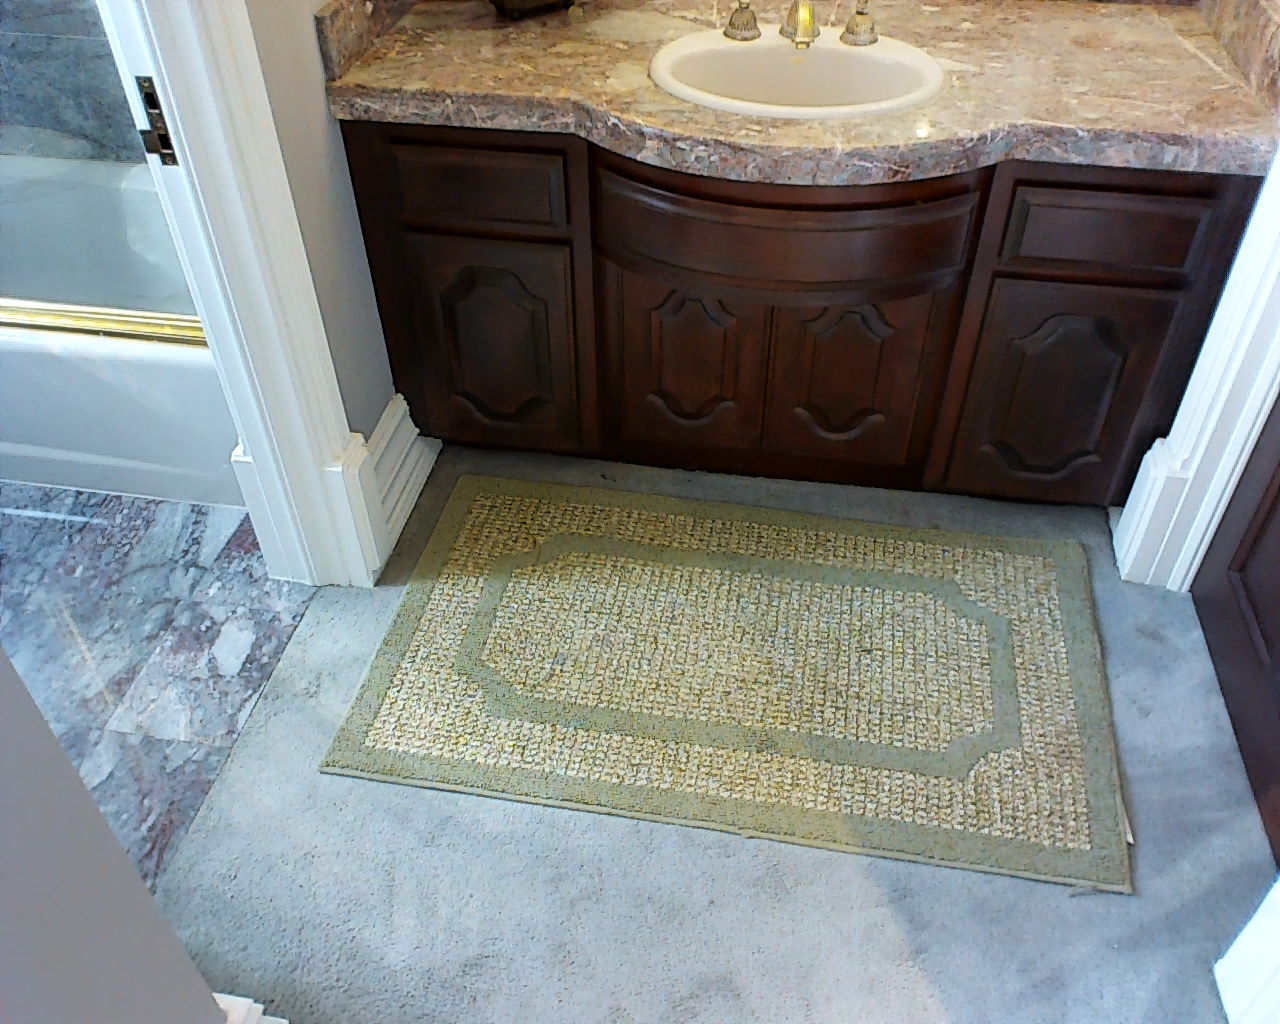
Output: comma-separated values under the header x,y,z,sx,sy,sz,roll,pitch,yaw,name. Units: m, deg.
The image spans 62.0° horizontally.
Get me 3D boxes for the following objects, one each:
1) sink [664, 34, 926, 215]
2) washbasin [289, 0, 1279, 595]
x,y,z,sx,sy,sz,roll,pitch,yaw,name
0.260,-0.660,1.800,0.400,0.180,0.260,7,42,7,sink
0.260,-0.490,2.100,1.480,0.810,0.800,6,42,7,washbasin
